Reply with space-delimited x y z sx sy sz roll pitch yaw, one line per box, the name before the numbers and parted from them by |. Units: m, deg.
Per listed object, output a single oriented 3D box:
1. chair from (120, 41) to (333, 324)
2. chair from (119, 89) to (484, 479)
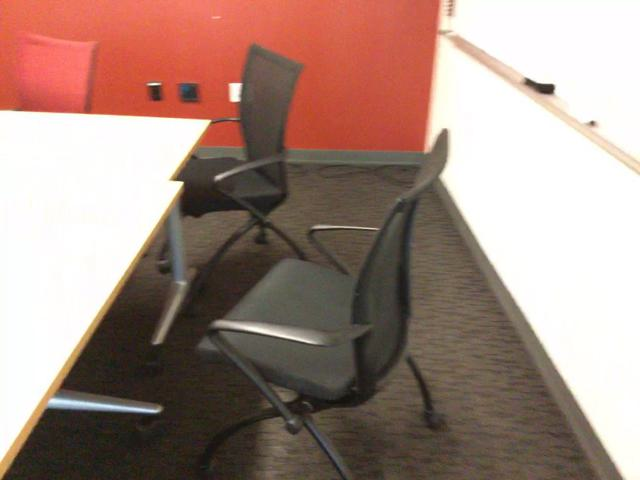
chair | -0.380 -0.270 2.310 0.570 0.900 0.610 -13 31 -29
chair | -0.010 0.160 1.470 0.600 0.890 0.630 13 28 18
